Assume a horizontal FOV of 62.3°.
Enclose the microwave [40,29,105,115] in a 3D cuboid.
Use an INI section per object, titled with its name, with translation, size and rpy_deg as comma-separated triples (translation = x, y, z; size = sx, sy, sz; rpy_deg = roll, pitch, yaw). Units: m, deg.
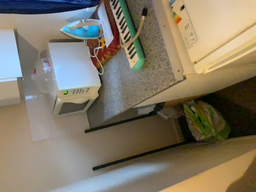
[microwave]
translation = -0.430, -0.140, 1.520
size = 0.580, 0.270, 0.410
rpy_deg = -32, 70, 60
